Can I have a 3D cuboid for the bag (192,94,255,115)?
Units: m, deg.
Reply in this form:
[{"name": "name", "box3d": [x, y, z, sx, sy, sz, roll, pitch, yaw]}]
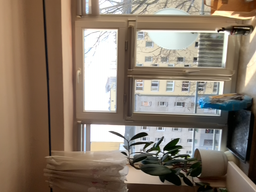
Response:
[{"name": "bag", "box3d": [0.820, 0.070, 1.890, 0.360, 0.400, 0.130, -68, -20, -85]}]
